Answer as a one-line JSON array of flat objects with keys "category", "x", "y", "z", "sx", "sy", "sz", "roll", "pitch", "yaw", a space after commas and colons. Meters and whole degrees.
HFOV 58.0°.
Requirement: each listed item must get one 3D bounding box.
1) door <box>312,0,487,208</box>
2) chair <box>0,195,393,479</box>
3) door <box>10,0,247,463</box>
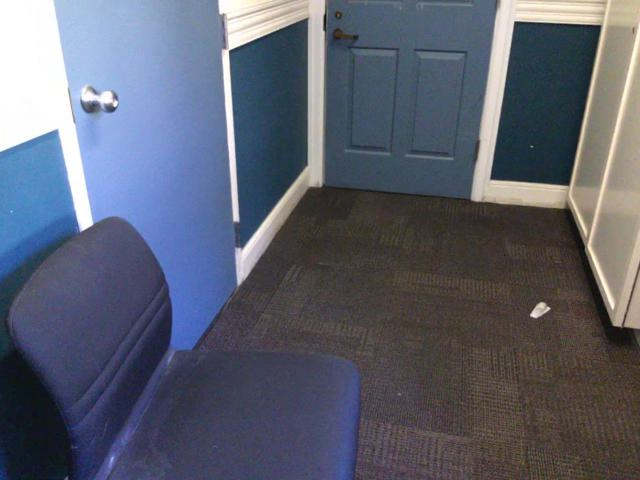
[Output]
[{"category": "door", "x": 0.410, "y": -1.000, "z": 3.140, "sx": 0.890, "sy": 1.680, "sz": 0.120, "roll": 5, "pitch": 27, "yaw": 12}, {"category": "chair", "x": -0.210, "y": 0.260, "z": 1.150, "sx": 0.630, "sy": 0.490, "sz": 0.540, "roll": 5, "pitch": 27, "yaw": 12}, {"category": "door", "x": -0.460, "y": -0.230, "z": 1.720, "sx": 0.100, "sy": 1.520, "sz": 0.870, "roll": 5, "pitch": 27, "yaw": 12}]
